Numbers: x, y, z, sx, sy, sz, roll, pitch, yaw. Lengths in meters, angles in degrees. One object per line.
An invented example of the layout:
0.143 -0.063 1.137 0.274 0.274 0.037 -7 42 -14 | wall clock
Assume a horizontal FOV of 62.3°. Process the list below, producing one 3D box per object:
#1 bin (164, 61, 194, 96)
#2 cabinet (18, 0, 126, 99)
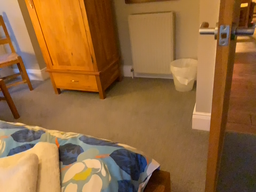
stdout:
0.570 -0.200 2.350 0.250 0.270 0.290 8 32 24 | bin
-0.620 -1.000 2.340 0.800 1.900 0.680 8 32 24 | cabinet
